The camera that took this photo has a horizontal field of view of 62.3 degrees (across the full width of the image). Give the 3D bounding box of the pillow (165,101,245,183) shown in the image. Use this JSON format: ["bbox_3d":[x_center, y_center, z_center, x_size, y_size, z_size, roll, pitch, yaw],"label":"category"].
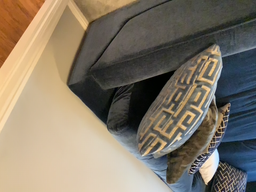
[{"bbox_3d":[0.490,0.320,1.450,0.200,0.310,0.460,-14,141,-27],"label":"pillow"}]
